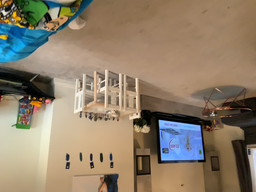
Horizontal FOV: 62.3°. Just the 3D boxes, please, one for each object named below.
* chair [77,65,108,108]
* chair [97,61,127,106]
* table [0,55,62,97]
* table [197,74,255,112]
[{"bbox_3d":[-0.510,-0.120,3.090,0.340,0.520,0.290,10,161,-34],"label":"chair"},{"bbox_3d":[-0.220,-0.160,2.930,0.290,0.520,0.310,11,161,-34],"label":"chair"},{"bbox_3d":[-1.550,-0.270,2.880,1.150,0.320,0.450,11,161,-35],"label":"table"},{"bbox_3d":[1.810,-0.010,3.790,0.770,0.390,0.750,10,161,-34],"label":"table"}]
